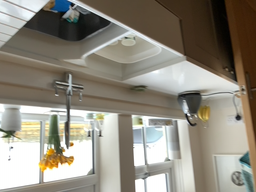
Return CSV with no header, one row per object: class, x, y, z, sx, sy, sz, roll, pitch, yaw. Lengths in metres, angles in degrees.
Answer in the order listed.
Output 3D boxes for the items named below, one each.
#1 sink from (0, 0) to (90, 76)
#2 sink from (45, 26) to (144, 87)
sink,-0.480,-0.260,1.050,0.440,0.160,0.380,-12,165,39
sink,-0.210,-0.210,1.360,0.440,0.160,0.440,-12,165,39
